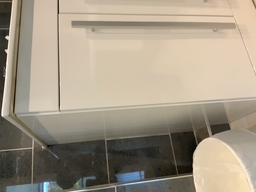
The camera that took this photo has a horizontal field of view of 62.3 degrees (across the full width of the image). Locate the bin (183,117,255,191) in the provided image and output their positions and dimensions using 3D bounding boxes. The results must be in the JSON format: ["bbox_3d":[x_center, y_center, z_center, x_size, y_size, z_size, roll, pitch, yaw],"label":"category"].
[{"bbox_3d":[0.370,0.240,0.640,0.310,0.240,0.290,115,150,-67],"label":"bin"}]
